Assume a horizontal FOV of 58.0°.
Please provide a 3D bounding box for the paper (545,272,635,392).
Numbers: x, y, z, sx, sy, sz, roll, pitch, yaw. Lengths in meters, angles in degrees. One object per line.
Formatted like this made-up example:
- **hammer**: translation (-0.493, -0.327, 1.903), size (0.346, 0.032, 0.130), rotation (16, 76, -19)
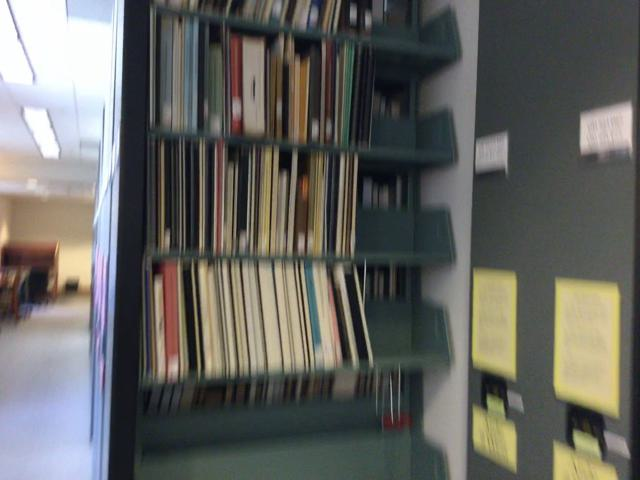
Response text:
- **paper**: translation (0.550, 0.180, 1.190), size (0.030, 0.220, 0.190), rotation (4, -3, -23)

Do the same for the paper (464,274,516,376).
- **paper**: translation (0.430, 0.210, 1.470), size (0.020, 0.240, 0.160), rotation (4, -3, -23)

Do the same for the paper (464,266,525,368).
- **paper**: translation (0.440, 0.190, 1.470), size (0.040, 0.240, 0.170), rotation (4, -3, -23)
